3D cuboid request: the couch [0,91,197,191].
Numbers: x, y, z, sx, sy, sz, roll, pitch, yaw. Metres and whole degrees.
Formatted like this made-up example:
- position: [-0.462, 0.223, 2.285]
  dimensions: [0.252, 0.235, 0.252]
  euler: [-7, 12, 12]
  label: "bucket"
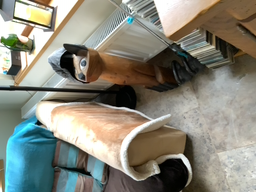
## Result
- position: [-0.300, 0.590, 1.510]
  dimensions: [1.050, 0.900, 1.050]
  euler: [14, 97, 44]
  label: "couch"
